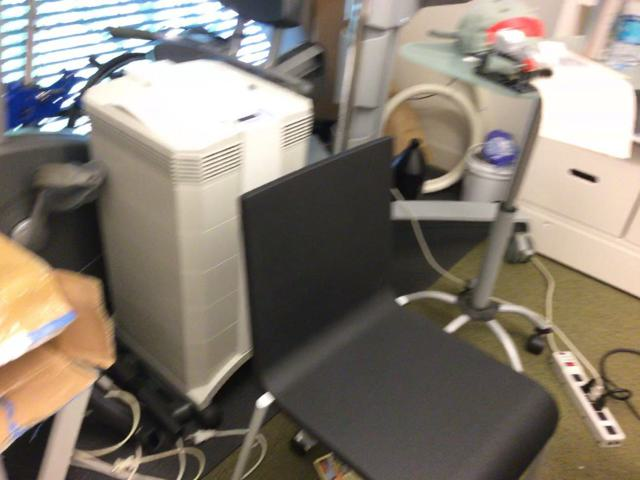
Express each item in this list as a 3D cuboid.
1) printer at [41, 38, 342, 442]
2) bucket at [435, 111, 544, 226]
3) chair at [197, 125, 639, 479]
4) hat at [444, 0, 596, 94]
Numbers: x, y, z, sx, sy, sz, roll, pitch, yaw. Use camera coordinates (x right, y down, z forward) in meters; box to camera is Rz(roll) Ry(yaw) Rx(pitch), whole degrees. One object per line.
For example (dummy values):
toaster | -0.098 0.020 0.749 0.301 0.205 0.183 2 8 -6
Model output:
printer | -0.310 -0.030 1.460 0.520 0.800 0.410 25 35 33
bucket | 0.690 -0.300 2.370 0.270 0.330 0.300 26 39 33
chair | 0.160 0.300 1.080 0.590 0.810 0.430 26 39 34
hat | 0.410 -0.420 1.220 0.170 0.140 0.230 -13 35 -23
